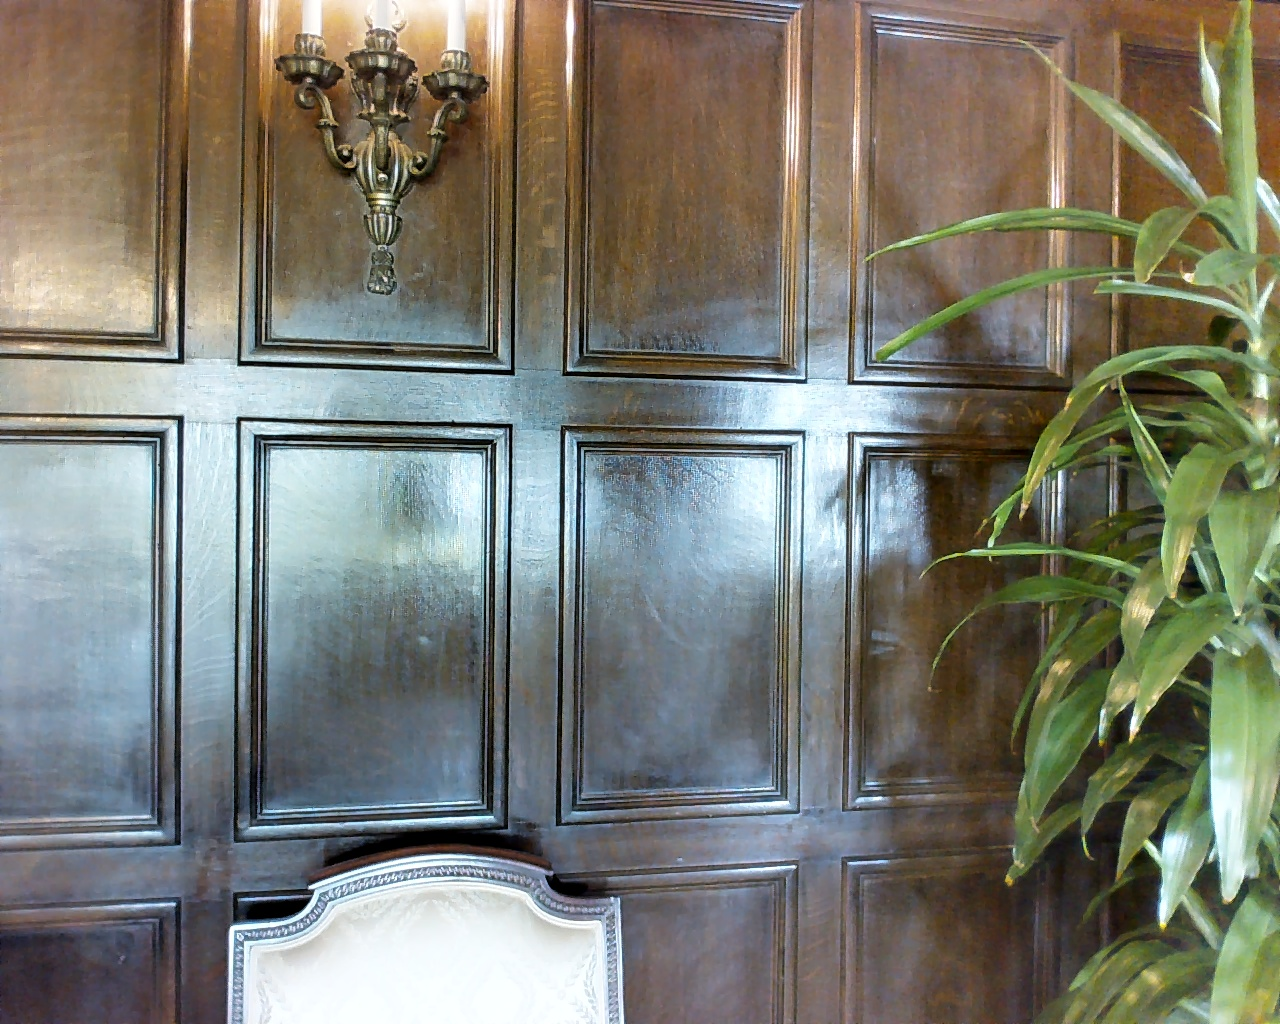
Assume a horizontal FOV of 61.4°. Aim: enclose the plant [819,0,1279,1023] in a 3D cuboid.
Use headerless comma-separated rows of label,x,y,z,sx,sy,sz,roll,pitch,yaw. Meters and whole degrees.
plant,0.870,0.500,1.370,0.990,2.090,0.940,1,0,-12
